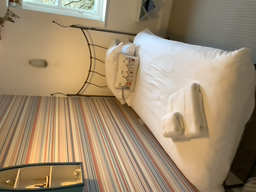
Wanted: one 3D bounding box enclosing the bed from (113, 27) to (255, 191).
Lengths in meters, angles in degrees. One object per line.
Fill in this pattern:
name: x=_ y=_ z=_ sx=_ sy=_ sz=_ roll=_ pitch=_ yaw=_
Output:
bed: x=0.430 y=-0.130 z=2.430 sx=2.100 sy=0.610 sz=1.040 roll=-129 pitch=45 yaw=-62
